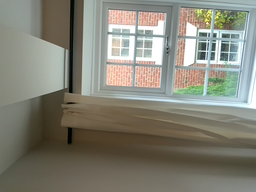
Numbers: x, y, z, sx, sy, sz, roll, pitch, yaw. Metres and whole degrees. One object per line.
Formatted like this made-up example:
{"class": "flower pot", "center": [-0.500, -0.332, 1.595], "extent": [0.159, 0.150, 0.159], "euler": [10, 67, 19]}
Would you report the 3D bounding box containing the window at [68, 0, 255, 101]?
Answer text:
{"class": "window", "center": [0.320, -0.440, 2.020], "extent": [0.100, 1.720, 0.860], "euler": [-95, 8, -82]}
